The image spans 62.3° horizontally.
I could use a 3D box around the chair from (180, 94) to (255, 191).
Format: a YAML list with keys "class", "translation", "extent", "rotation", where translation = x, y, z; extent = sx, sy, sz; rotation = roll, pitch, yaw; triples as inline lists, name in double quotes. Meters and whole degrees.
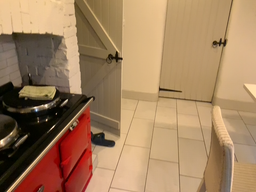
- class: "chair"
  translation: [0.610, 0.570, 1.170]
  extent: [0.540, 1.010, 0.480]
  rotation: [6, 25, 8]

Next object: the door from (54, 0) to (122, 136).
- class: "door"
  translation: [-0.420, -0.530, 2.210]
  extent: [0.760, 1.940, 0.100]
  rotation: [16, 28, 27]
